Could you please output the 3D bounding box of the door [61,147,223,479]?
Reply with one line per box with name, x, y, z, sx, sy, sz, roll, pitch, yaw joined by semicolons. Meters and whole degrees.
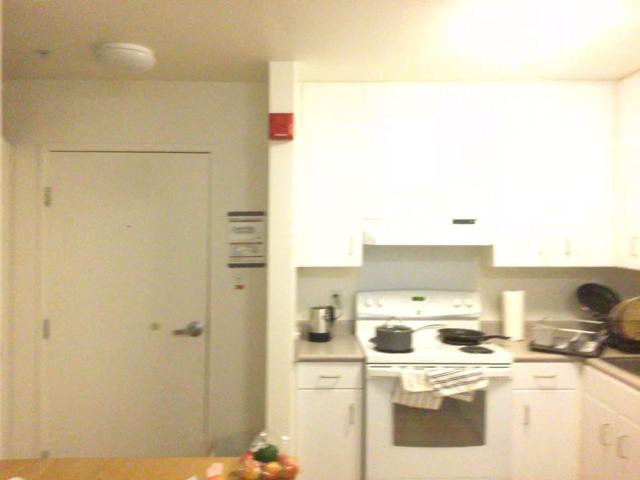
door;-0.980;0.470;3.190;0.870;1.950;0.050;0;1;2
